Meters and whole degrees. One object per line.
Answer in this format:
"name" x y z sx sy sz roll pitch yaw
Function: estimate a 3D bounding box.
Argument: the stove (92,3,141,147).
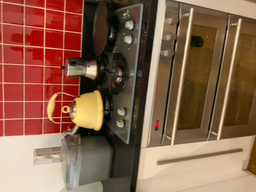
"stove" -0.090 -0.120 1.100 0.510 0.020 0.590 -154 67 -62
